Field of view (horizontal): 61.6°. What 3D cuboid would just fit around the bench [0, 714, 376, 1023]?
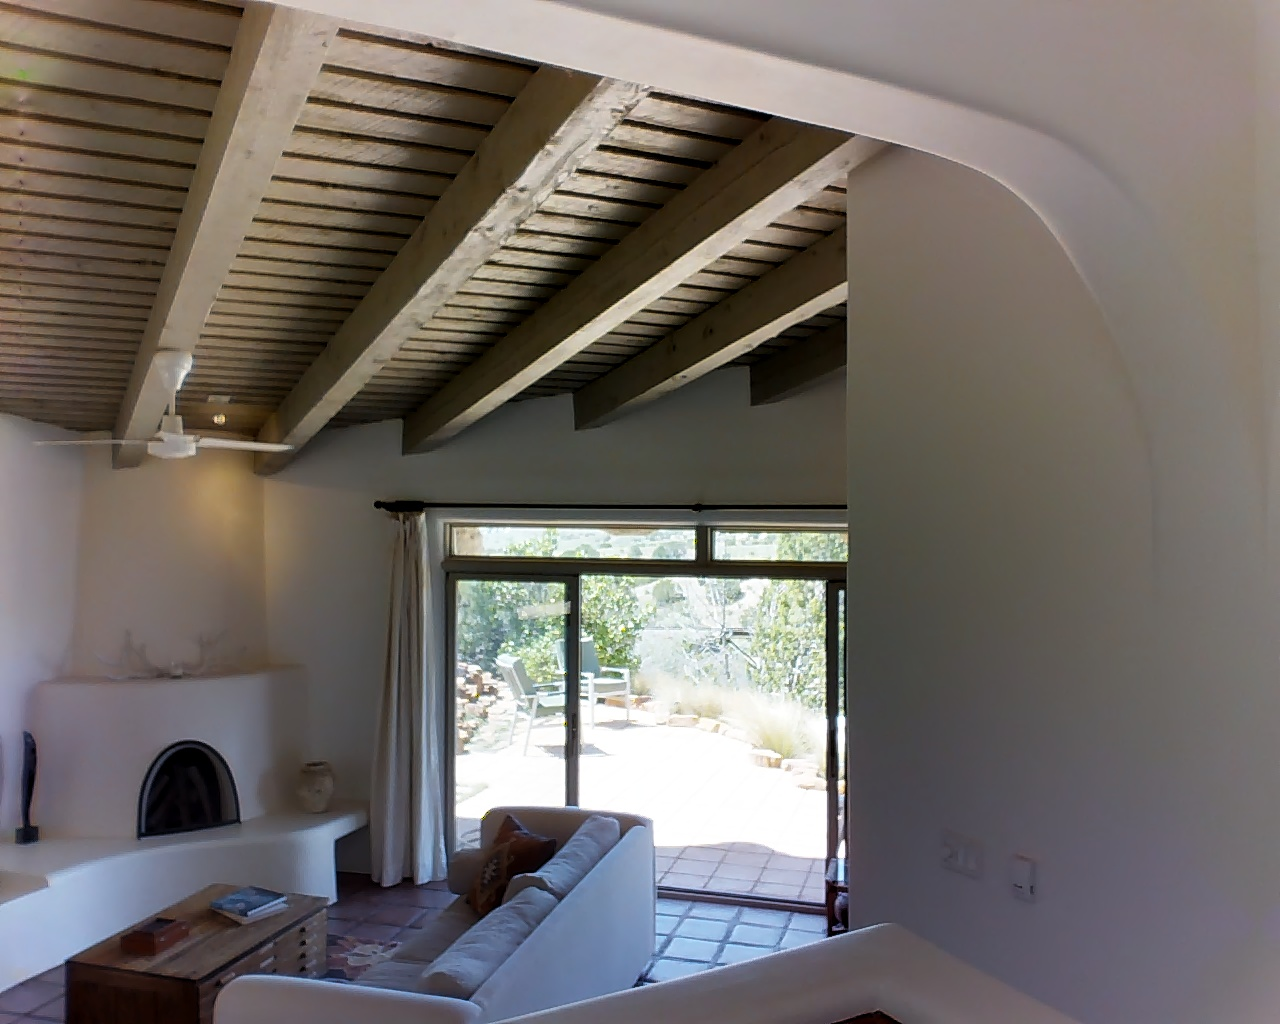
[{"bbox_3d":[-3.179,1.941,5.340,1.749,1.010,4.240,0,0,16],"label":"bench"}]
